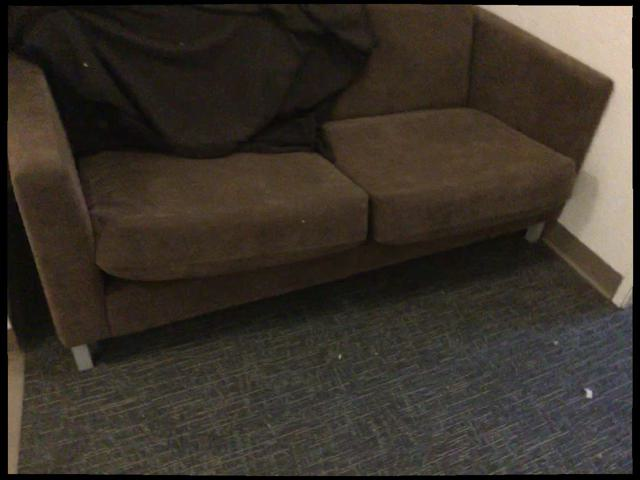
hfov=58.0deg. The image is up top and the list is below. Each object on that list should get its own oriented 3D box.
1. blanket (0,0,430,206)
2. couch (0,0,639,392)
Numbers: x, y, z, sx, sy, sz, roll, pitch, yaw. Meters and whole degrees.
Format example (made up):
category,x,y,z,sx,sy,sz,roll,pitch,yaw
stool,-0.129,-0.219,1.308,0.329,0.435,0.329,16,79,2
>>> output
category,x,y,z,sx,sy,sz,roll,pitch,yaw
blanket,-0.399,-0.581,1.730,1.298,0.551,0.540,-12,43,-20
couch,-0.040,-0.331,1.860,1.677,0.691,0.940,-12,43,-20
